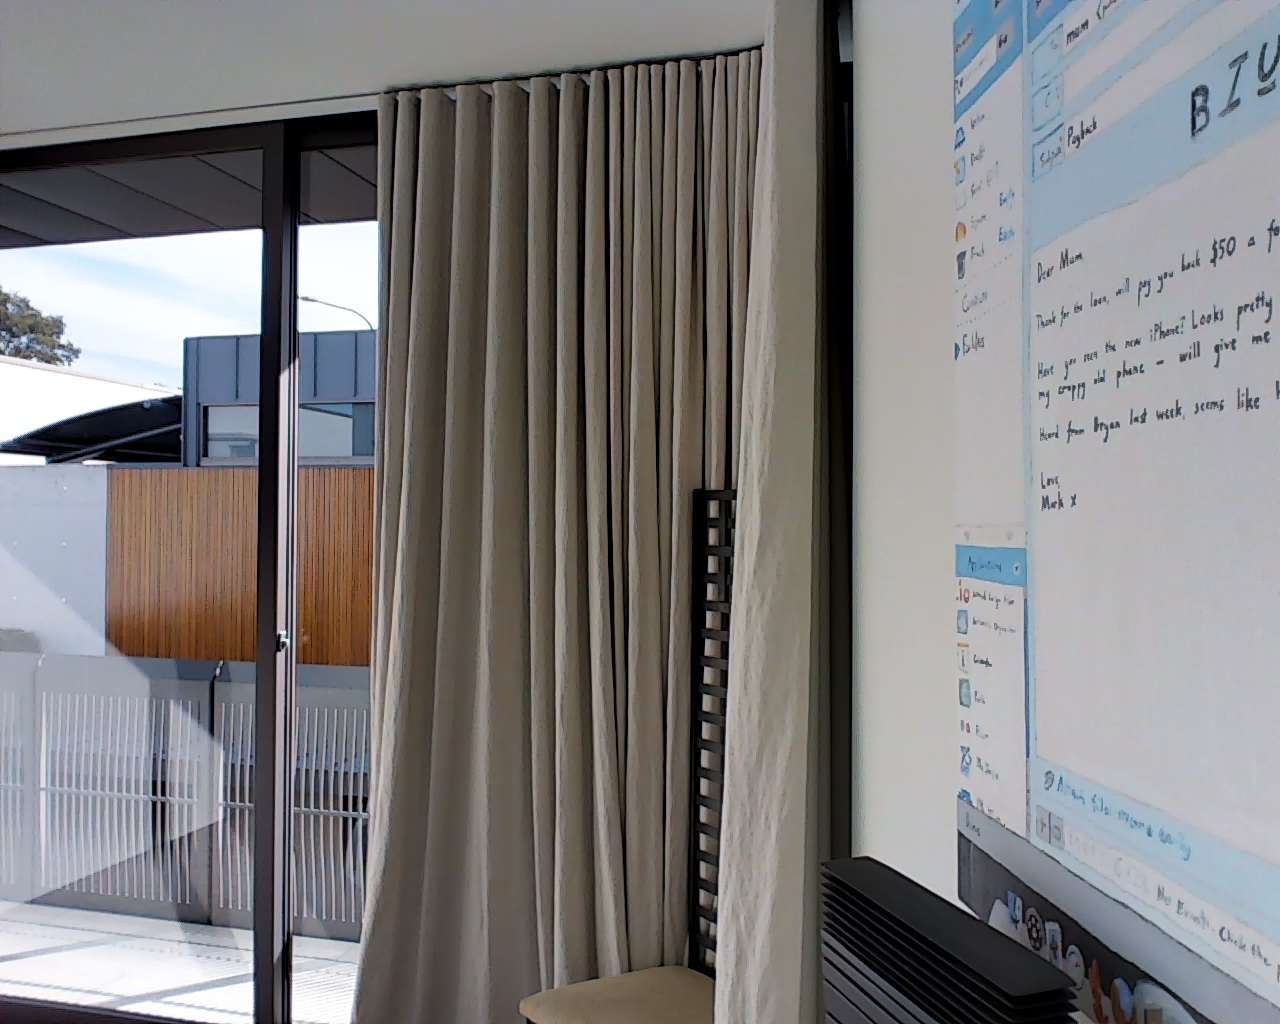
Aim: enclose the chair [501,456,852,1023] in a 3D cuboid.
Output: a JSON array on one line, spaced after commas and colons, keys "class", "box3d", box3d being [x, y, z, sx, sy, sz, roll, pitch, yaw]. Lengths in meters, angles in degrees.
[{"class": "chair", "box3d": [0.070, 0.720, 2.320, 0.580, 1.630, 0.490, 1, -1, -31]}]
